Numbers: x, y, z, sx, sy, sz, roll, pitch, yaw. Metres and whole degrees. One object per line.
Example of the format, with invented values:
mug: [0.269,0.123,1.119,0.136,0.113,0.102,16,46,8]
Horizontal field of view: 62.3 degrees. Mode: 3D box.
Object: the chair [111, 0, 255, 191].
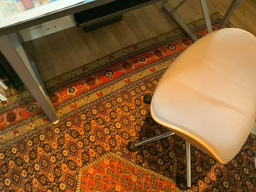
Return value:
chair: [0.350,0.020,0.940,0.620,0.830,0.590,32,65,12]
